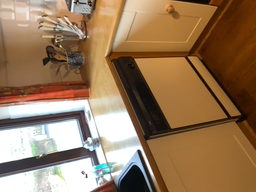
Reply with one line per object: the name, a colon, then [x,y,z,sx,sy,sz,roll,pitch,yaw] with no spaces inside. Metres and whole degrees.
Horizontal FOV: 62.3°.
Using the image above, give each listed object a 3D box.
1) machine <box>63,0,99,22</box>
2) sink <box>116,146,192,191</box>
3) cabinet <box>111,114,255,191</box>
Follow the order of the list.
machine: [-0.340,-0.720,1.510,0.260,0.180,0.250,-59,44,50]
sink: [0.150,0.590,1.240,0.400,0.220,0.420,65,148,32]
cabinet: [0.460,0.590,1.340,0.600,0.870,0.610,65,148,32]
